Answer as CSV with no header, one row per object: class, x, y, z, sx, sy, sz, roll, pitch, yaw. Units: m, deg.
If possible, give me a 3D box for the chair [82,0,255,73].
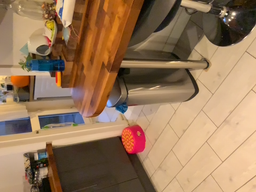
chair,0.290,-0.490,1.120,0.500,0.840,0.530,-56,47,44
